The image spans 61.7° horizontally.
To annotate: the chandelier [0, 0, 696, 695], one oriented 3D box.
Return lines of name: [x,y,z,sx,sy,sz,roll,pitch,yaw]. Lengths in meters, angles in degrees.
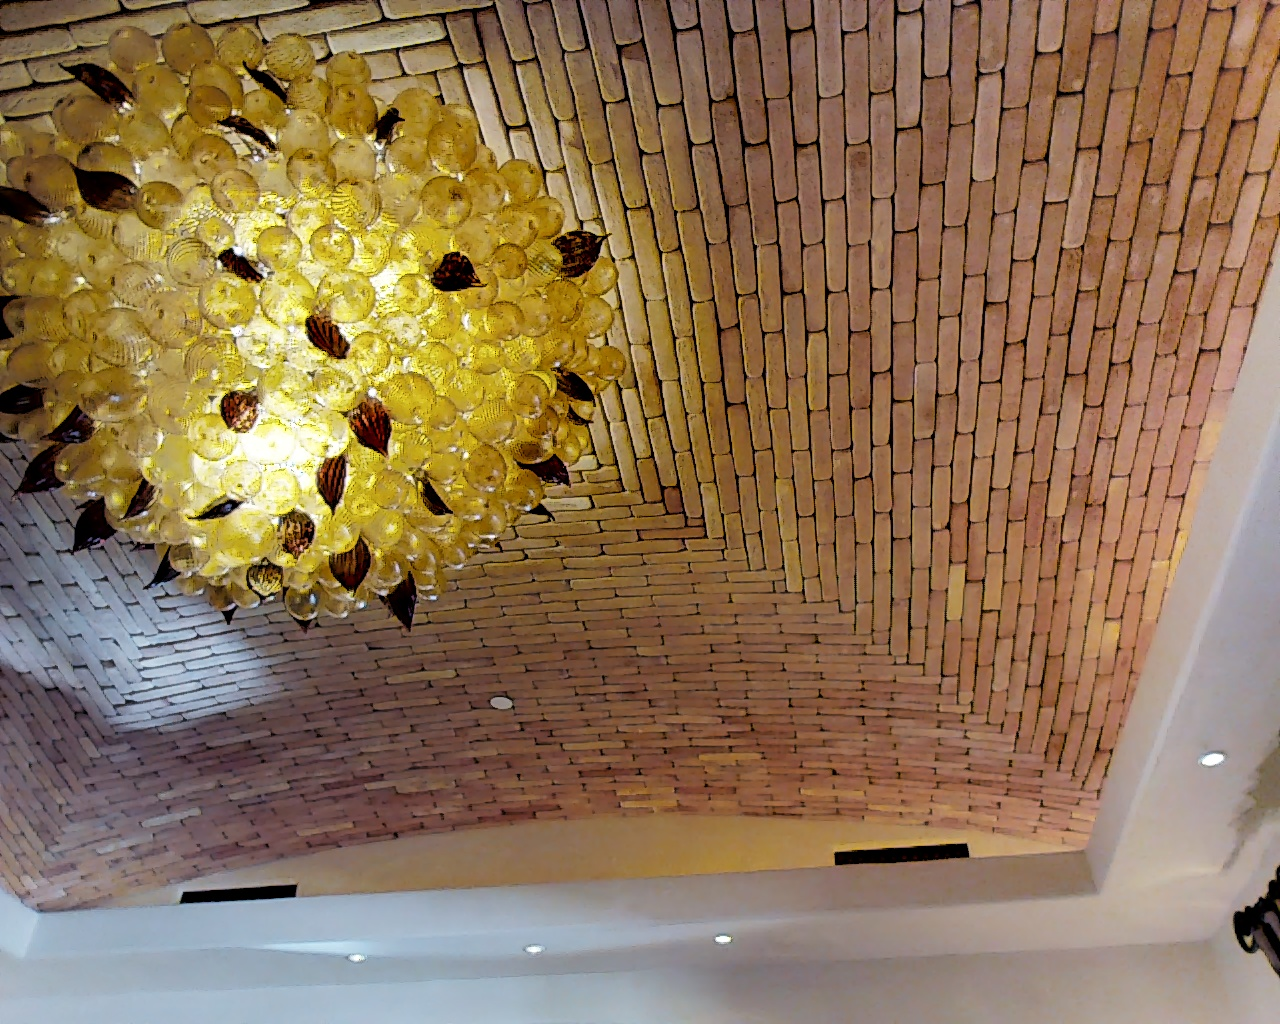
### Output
chandelier: [-0.740,-0.210,2.310,1.520,0.820,1.570,-6,-20,7]
